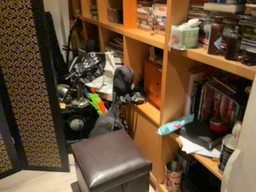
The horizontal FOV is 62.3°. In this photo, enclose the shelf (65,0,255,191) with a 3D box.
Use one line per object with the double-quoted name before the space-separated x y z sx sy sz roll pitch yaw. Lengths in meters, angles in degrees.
"shelf" 0.070 -0.540 1.740 0.560 2.070 2.440 -14 29 -24
